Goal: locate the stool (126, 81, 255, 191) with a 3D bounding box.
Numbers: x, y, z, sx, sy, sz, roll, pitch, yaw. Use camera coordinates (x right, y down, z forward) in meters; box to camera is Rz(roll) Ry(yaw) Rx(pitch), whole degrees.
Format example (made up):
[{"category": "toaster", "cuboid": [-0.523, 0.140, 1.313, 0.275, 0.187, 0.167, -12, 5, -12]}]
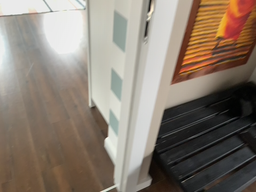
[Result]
[{"category": "stool", "cuboid": [0.610, 0.360, 1.480, 1.040, 0.440, 0.630, -15, 44, -25]}]
